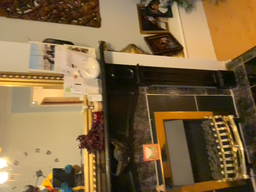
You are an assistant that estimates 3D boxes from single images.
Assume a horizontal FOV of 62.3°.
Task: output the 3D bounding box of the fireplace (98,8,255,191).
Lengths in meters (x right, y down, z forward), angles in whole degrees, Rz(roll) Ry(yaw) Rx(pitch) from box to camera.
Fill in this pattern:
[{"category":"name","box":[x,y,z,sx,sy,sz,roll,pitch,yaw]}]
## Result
[{"category":"fireplace","box":[0.470,0.320,1.270,0.520,1.150,1.420,134,134,-63]}]
